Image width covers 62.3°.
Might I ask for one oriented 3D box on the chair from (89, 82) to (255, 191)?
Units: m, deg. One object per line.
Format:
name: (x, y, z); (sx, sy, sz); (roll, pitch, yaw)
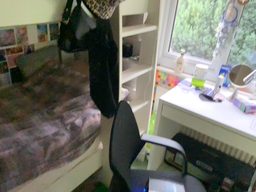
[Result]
chair: (0.160, 0.520, 1.010); (0.650, 0.980, 0.660); (-1, 29, -13)
